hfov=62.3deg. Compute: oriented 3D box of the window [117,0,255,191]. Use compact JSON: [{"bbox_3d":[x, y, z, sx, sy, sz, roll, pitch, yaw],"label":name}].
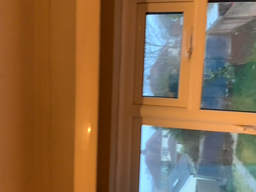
[{"bbox_3d":[0.570,-0.170,1.040,0.060,1.200,1.700,-21,-66,-79],"label":"window"}]
